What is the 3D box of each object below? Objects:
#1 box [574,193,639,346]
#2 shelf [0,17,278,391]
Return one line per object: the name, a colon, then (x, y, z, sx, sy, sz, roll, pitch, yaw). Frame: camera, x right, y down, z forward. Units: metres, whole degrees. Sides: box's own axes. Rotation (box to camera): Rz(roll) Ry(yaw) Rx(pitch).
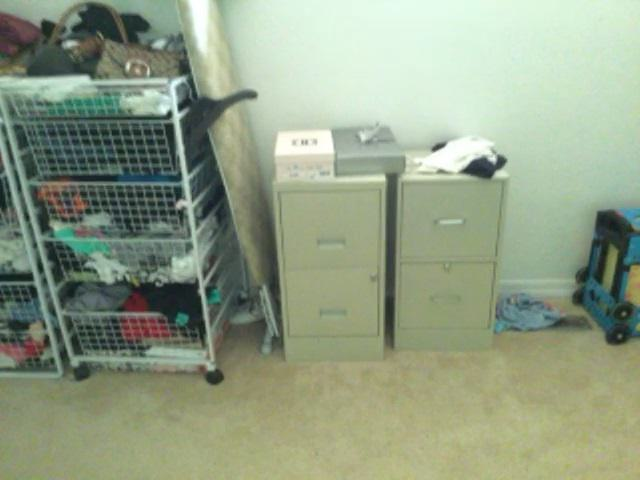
box: (1.250, 0.100, 2.140, 0.460, 0.460, 0.340, -2, 23, 8)
shelf: (-0.880, -0.130, 2.160, 1.230, 1.200, 0.630, -2, 23, 8)
